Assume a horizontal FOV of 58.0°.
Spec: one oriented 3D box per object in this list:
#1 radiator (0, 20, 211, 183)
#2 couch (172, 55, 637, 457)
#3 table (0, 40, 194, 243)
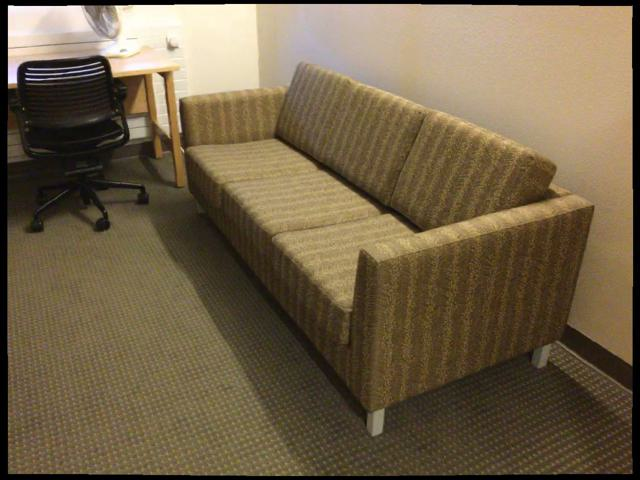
[{"bbox_3d":[-1.697,-0.862,3.680,1.927,0.871,0.120,-13,30,-21],"label":"radiator"},{"bbox_3d":[0.110,-0.200,2.530,0.989,0.801,1.940,-13,30,-21],"label":"couch"},{"bbox_3d":[-1.487,-0.631,3.400,1.188,0.831,0.880,-13,30,-21],"label":"table"}]
